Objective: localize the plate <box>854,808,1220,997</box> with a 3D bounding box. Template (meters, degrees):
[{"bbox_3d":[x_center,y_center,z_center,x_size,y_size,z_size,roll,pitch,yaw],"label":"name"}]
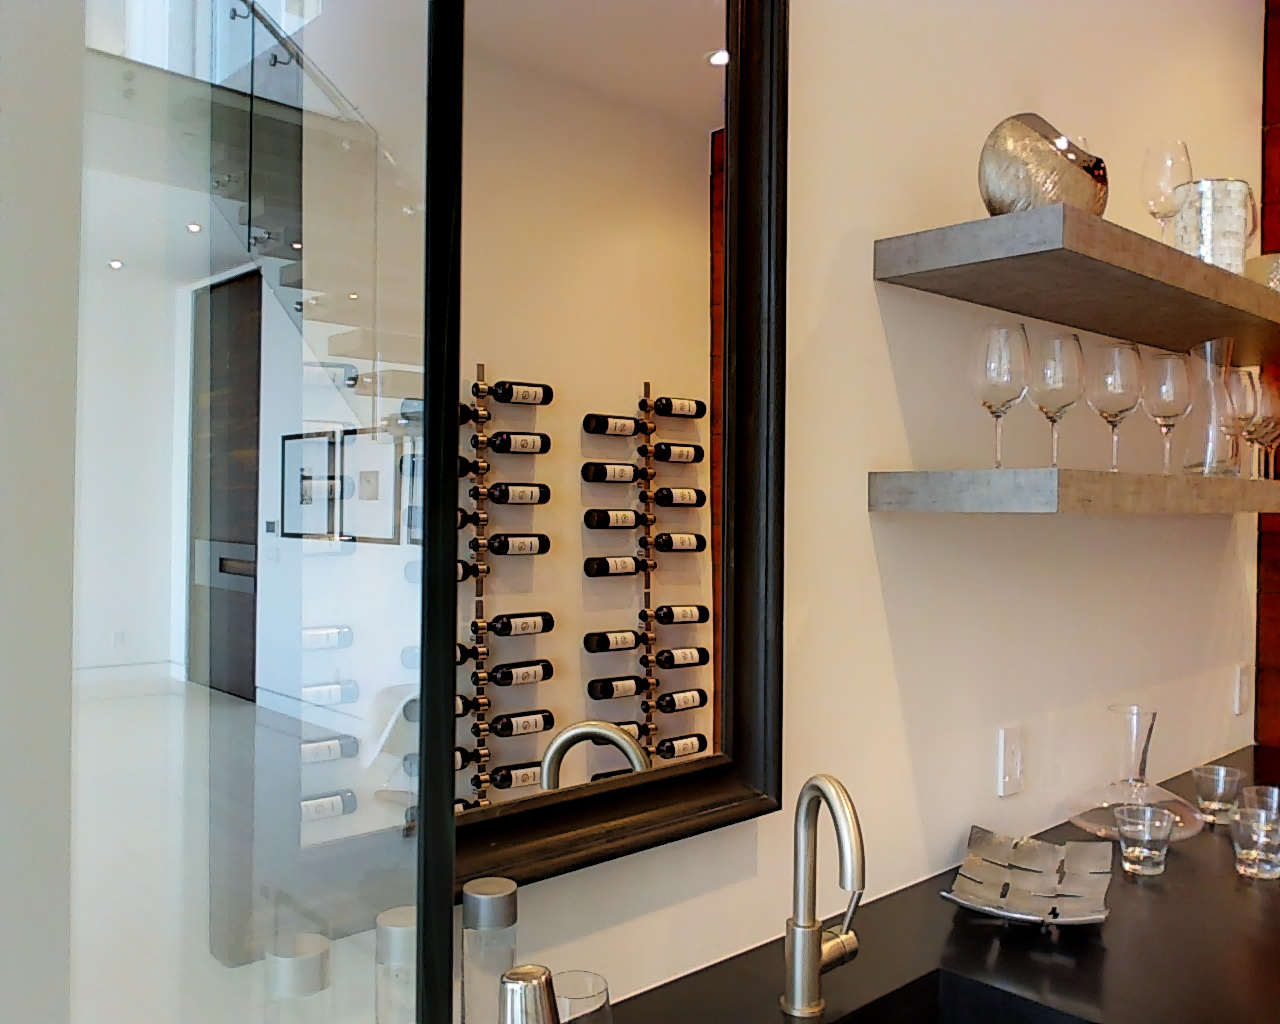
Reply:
[{"bbox_3d":[0.620,0.580,1.670,0.470,0.080,0.350,0,1,-41],"label":"plate"}]

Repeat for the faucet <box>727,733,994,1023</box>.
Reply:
[{"bbox_3d":[0.260,0.450,1.280,0.220,0.310,0.220,0,1,-40],"label":"faucet"}]
